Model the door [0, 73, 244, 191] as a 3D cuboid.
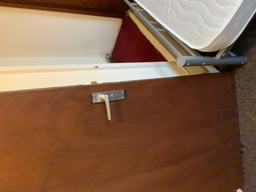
[{"bbox_3d":[-0.070,0.320,0.860,0.020,1.940,0.730,-3,94,56],"label":"door"}]
